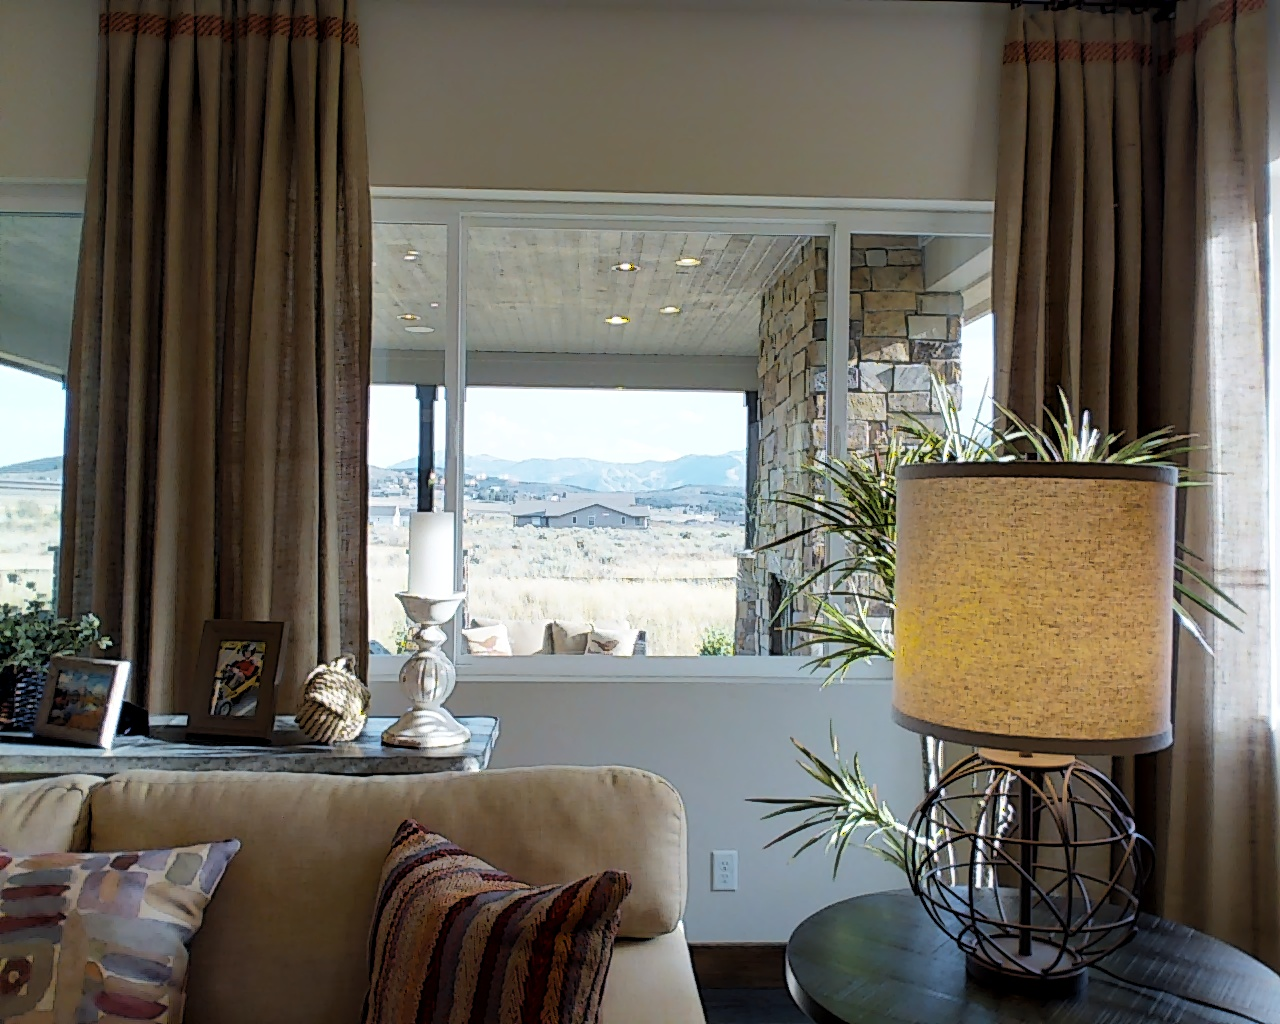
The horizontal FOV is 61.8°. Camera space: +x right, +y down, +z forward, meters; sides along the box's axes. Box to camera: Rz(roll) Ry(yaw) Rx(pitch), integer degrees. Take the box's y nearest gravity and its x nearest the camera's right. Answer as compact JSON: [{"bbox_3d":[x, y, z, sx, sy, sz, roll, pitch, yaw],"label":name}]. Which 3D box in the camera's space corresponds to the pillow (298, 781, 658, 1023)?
[{"bbox_3d":[-0.250,0.750,1.640,0.470,0.440,0.270,18,26,34],"label":"pillow"}]

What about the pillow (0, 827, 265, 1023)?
[{"bbox_3d":[-0.930,0.730,1.650,0.600,0.420,0.220,1,19,-3],"label":"pillow"}]

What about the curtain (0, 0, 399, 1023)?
[{"bbox_3d":[-1.220,-0.080,3.060,0.930,2.990,0.380,1,-1,-3],"label":"curtain"}]

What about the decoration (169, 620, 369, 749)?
[{"bbox_3d":[-0.860,0.400,2.510,0.400,0.270,0.190,1,-1,-3],"label":"decoration"}]

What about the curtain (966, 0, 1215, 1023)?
[{"bbox_3d":[1.300,-0.060,3.140,0.620,3.010,0.260,1,-1,17],"label":"curtain"}]
